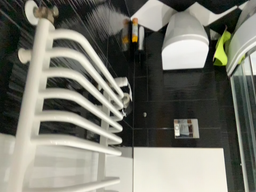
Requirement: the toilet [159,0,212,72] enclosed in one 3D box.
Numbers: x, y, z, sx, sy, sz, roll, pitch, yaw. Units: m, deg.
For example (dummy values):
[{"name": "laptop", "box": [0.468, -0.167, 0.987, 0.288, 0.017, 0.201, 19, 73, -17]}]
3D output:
[{"name": "toilet", "box": [0.460, -0.530, 1.800, 0.350, 0.470, 0.520, -2, 162, 11]}]
